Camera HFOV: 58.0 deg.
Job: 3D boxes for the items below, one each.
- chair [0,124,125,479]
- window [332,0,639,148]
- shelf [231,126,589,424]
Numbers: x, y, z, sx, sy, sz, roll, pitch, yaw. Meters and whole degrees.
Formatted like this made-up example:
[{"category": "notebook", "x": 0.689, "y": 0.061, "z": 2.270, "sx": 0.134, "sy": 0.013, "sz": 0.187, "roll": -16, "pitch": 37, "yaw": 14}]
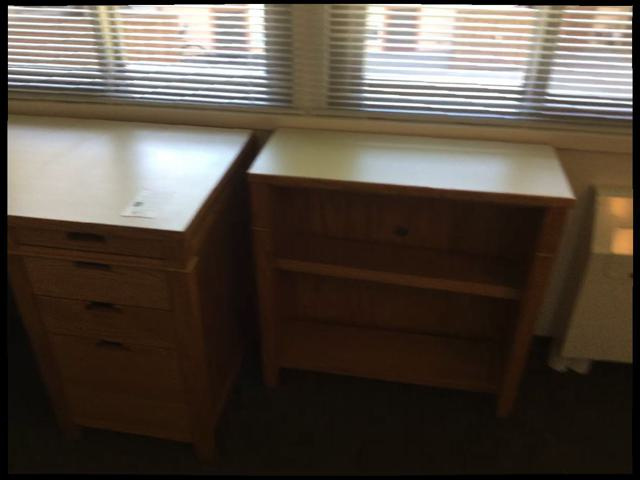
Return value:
[{"category": "chair", "x": -0.928, "y": 0.200, "z": 1.600, "sx": 0.399, "sy": 0.891, "sz": 0.540, "roll": 6, "pitch": 34, "yaw": 8}, {"category": "window", "x": 0.649, "y": -0.691, "z": 1.480, "sx": 1.188, "sy": 0.821, "sz": 0.270, "roll": 6, "pitch": 34, "yaw": 7}, {"category": "shelf", "x": 0.220, "y": 0.110, "z": 1.720, "sx": 0.848, "sy": 0.761, "sz": 0.320, "roll": 6, "pitch": 34, "yaw": 7}]
